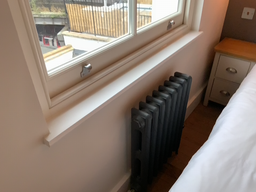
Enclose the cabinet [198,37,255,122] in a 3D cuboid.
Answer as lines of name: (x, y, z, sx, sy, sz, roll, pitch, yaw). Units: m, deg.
cabinet: (0.900, -0.150, 1.860, 0.350, 0.580, 0.350, 23, 41, 30)
